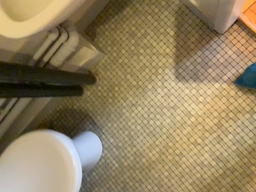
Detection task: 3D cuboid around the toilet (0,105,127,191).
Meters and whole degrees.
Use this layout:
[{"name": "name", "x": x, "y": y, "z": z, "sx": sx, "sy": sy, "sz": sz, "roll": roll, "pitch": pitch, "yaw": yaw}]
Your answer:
[{"name": "toilet", "x": -0.470, "y": 0.410, "z": 0.950, "sx": 0.660, "sy": 0.780, "sz": 0.350, "roll": -42, "pitch": 79, "yaw": 14}]
